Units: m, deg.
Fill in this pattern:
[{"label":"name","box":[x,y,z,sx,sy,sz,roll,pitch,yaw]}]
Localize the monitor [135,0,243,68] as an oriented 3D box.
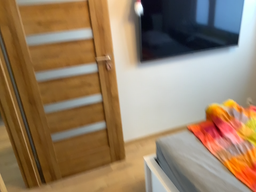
[{"label":"monitor","box":[0.680,-0.780,2.190,1.230,0.730,0.040,-16,25,-15]}]
